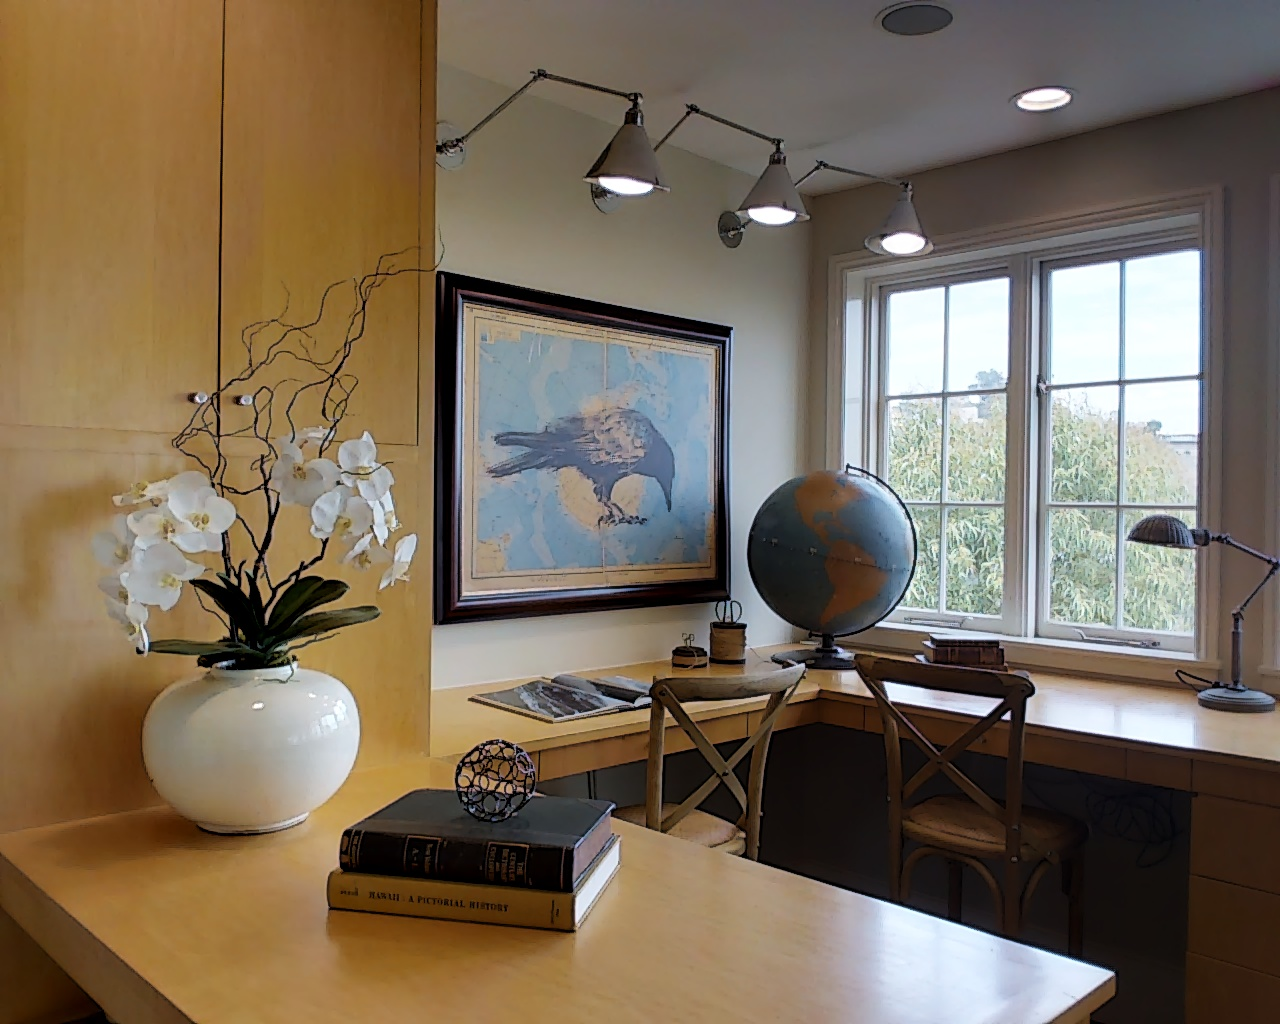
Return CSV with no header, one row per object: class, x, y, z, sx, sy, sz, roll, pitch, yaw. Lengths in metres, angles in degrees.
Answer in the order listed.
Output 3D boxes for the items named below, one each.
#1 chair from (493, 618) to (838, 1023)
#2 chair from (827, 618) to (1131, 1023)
chair,0.050,0.910,2.650,0.500,1.210,0.690,0,1,-44
chair,0.880,0.920,2.790,0.610,1.210,0.510,0,1,-44
